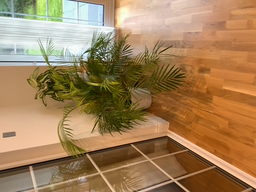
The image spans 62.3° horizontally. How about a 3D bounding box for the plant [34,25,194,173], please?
[{"bbox_3d":[-0.260,-0.130,2.070,1.200,1.030,0.920,32,121,54],"label":"plant"}]
